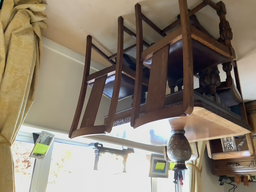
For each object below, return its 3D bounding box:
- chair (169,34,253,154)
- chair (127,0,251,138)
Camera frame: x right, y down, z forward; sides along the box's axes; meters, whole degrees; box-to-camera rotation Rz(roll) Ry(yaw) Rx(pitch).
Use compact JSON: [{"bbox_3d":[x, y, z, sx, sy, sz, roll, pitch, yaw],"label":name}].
[{"bbox_3d":[0.710,0.020,1.870,0.460,0.870,0.490,-16,151,35],"label":"chair"},{"bbox_3d":[0.330,-0.240,1.310,0.480,0.870,0.450,19,151,-36],"label":"chair"}]
